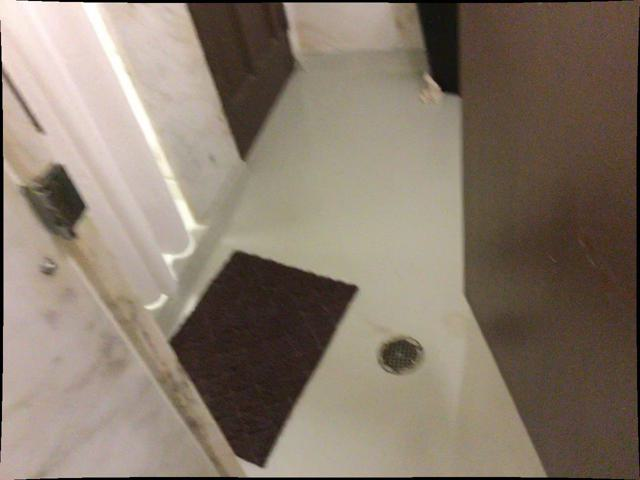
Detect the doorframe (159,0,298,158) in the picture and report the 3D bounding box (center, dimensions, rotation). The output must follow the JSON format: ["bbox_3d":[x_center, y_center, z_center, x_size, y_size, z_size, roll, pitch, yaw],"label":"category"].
[{"bbox_3d":[-0.420,-1.281,1.950,0.070,1.811,0.890,3,46,18],"label":"doorframe"}]

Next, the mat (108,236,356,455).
[{"bbox_3d":[-0.250,0.270,1.760,0.490,0.050,0.640,14,50,27],"label":"mat"}]

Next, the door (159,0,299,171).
[{"bbox_3d":[-0.420,-1.251,1.980,0.090,1.891,0.840,3,46,18],"label":"door"}]
